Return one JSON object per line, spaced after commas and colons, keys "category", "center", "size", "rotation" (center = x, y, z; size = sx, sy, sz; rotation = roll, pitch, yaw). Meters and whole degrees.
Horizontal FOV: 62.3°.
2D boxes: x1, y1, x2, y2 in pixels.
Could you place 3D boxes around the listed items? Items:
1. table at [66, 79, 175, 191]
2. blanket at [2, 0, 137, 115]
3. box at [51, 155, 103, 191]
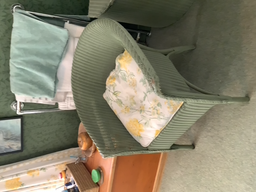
{"category": "table", "center": [-0.140, 0.520, 1.670], "size": [0.660, 0.420, 1.160], "rotation": [32, 119, 50]}
{"category": "blanket", "center": [-0.360, -0.260, 1.380], "size": [0.220, 0.760, 0.660], "rotation": [32, 118, 50]}
{"category": "box", "center": [-0.360, 0.650, 1.440], "size": [0.260, 0.250, 0.350], "rotation": [34, 120, 49]}
